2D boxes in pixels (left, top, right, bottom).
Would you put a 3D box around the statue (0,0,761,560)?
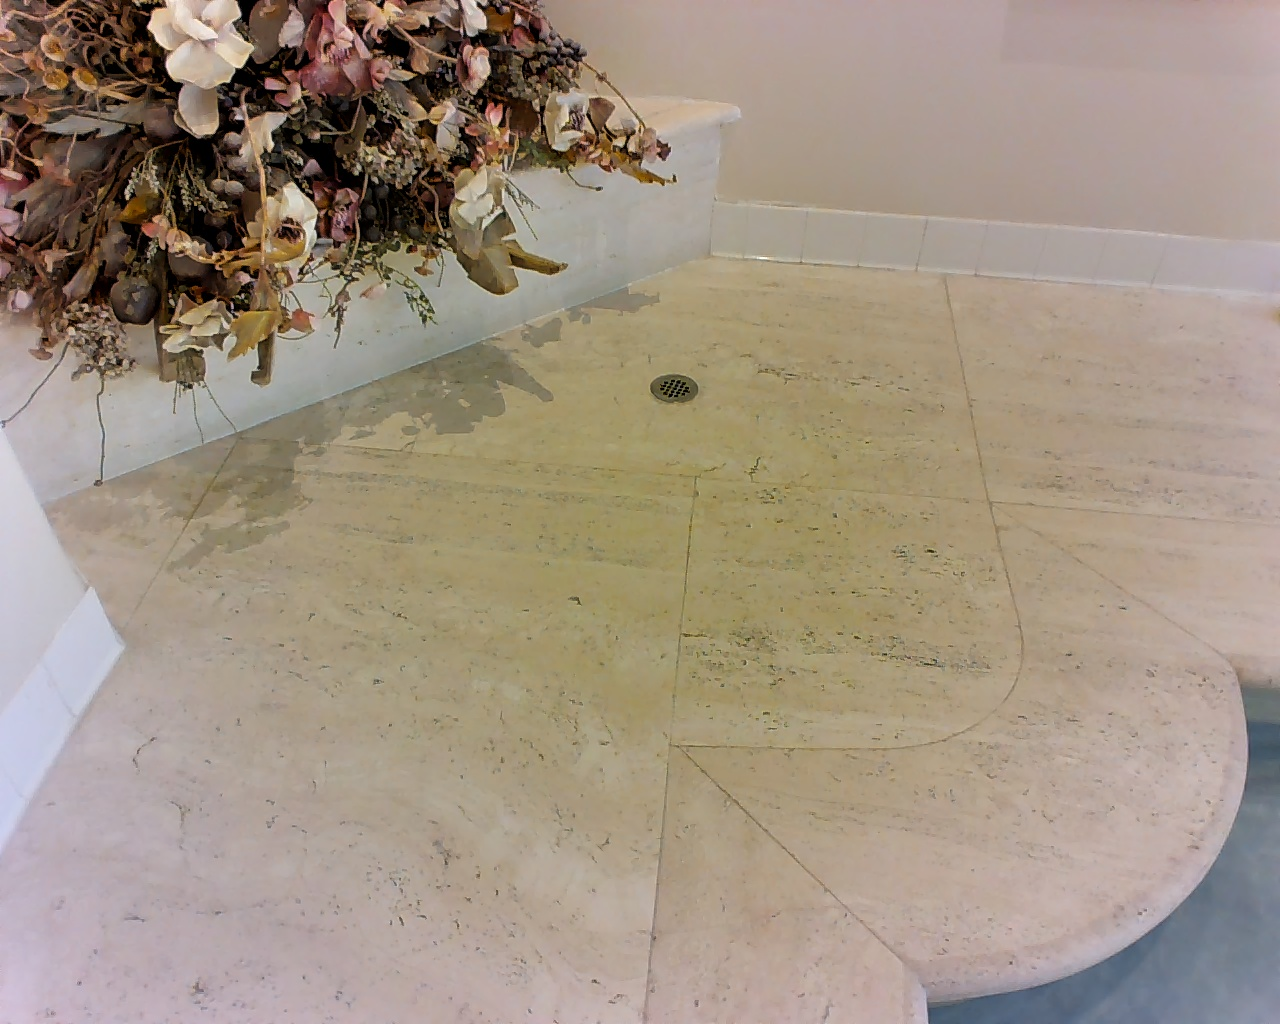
[{"bbox_3d":[-0.600,-0.860,1.880,1.470,1.120,0.810,-29,51,-28],"label":"statue"}]
